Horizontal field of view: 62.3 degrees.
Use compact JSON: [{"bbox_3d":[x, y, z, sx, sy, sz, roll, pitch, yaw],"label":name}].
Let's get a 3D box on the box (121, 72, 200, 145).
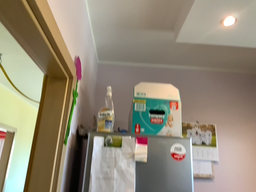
[{"bbox_3d":[0.180,0.130,1.480,0.390,0.340,0.610,5,-18,-4],"label":"box"}]
